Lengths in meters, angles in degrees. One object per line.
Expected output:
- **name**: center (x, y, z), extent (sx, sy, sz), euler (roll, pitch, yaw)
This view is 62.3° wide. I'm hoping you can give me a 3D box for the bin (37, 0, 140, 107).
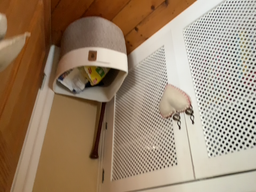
- **bin**: center (-0.230, -0.230, 1.290), extent (0.390, 0.340, 0.450), euler (26, 140, -35)
